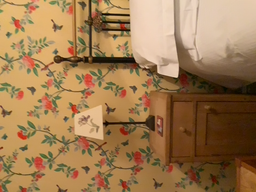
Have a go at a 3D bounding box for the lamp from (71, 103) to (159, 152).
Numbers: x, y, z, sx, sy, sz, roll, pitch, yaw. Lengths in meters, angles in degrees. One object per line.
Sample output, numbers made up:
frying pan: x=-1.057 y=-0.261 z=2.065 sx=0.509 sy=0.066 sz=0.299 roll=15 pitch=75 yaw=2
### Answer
lamp: x=-0.080 y=0.170 z=1.250 sx=0.210 sy=0.470 sz=0.230 roll=-153 pitch=63 yaw=-80
